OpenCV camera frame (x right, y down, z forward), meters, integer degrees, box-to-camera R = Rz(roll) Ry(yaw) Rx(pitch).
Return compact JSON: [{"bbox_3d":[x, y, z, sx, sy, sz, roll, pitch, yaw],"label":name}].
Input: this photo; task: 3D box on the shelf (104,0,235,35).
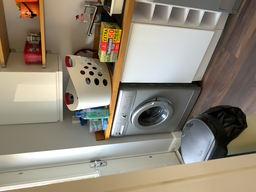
[{"bbox_3d":[0.310,-0.740,1.770,0.630,0.890,0.160,-115,30,-47],"label":"shelf"}]
